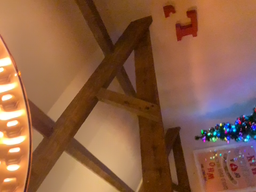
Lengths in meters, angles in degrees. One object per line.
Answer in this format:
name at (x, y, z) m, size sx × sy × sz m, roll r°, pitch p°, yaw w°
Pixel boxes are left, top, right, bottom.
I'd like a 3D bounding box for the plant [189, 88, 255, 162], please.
plant at (1.900, 0.430, 3.310) m, size 0.740 × 1.640 × 0.750 m, roll 63°, pitch -160°, yaw -48°
